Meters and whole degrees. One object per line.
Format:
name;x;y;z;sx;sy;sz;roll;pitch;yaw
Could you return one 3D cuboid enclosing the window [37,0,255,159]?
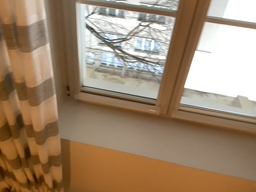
window;0.360;-0.910;0.650;1.480;2.770;0.190;12;-144;6
